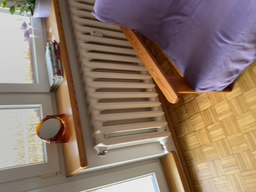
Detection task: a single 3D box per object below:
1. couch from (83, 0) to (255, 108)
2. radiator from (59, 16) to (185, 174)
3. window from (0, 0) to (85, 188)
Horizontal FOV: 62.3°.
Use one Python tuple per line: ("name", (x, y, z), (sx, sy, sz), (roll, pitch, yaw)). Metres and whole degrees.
("couch", (0.310, -0.490, 1.200), (0.770, 0.750, 0.770), (-60, 45, 37))
("radiator", (-0.110, -0.050, 1.710), (0.390, 0.610, 1.110), (-48, 53, 45))
("window", (-1.060, -0.190, 1.230), (0.250, 1.340, 1.470), (-42, 57, 48))
